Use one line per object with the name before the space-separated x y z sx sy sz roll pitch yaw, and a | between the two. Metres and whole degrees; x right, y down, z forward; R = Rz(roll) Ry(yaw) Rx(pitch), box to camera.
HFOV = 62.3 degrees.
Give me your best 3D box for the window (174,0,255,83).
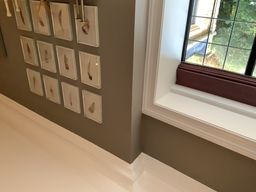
window | 1.020 -0.660 1.570 1.250 1.140 0.130 20 -147 30
